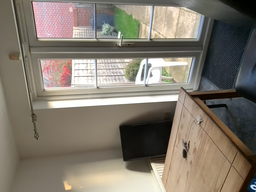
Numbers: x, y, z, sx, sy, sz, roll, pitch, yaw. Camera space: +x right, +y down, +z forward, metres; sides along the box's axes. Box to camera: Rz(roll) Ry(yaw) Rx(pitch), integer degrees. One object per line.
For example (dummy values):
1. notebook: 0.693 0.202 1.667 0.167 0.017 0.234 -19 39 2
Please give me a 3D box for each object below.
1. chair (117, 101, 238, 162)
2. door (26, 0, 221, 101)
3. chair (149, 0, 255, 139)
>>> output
1. chair: 0.490 0.420 2.410 0.660 1.090 0.480 121 143 -68
2. door: 0.020 -0.480 2.480 0.060 2.080 1.070 -115 26 -59
3. chair: 0.740 -0.230 1.160 0.470 1.100 0.660 -121 31 -64
